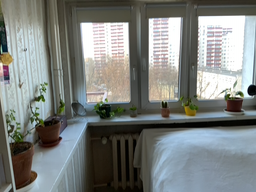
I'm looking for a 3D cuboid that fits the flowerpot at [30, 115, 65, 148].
[{"bbox_3d":[-0.550,0.240,1.480,0.170,0.150,0.220,-3,10,-7],"label":"flowerpot"}]

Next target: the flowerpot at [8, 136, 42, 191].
[{"bbox_3d":[-0.480,0.310,0.980,0.110,0.170,0.230,-6,11,-28],"label":"flowerpot"}]
